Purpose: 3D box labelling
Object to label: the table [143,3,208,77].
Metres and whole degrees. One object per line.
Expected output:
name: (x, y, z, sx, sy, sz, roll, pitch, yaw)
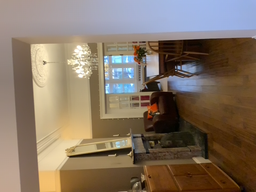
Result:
table: (0.800, -0.930, 4.200, 2.010, 0.770, 1.010, -110, 17, -86)
